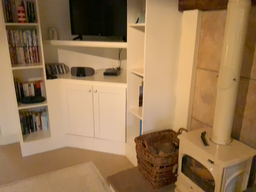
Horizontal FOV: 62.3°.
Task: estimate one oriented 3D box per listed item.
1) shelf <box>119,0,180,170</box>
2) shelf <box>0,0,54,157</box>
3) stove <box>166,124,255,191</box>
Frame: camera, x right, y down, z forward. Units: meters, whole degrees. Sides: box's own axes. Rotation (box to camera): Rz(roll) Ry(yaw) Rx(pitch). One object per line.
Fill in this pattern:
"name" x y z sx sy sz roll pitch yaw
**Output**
"shelf" 0.190 -0.210 2.230 0.440 1.940 0.380 -9 20 -27
"shelf" -1.190 -0.300 2.460 0.380 1.950 0.440 -9 20 -27
"stove" 0.600 0.590 1.610 0.390 0.560 0.440 -9 20 -28
